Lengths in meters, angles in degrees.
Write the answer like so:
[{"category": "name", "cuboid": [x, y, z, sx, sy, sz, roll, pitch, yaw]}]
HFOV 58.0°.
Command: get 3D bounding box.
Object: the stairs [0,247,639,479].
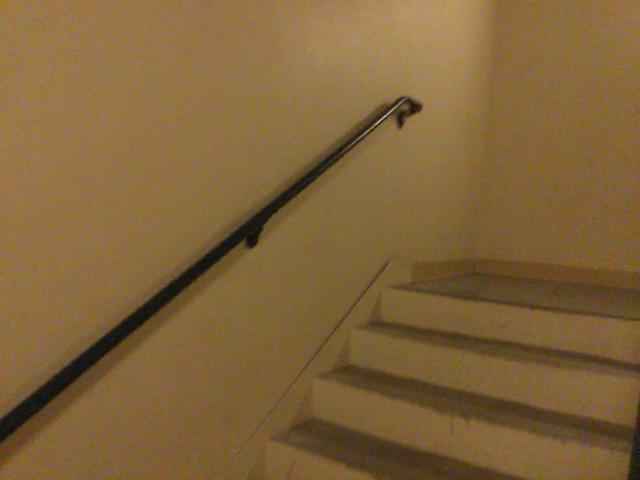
[{"category": "stairs", "cuboid": [0.360, 0.720, 1.890, 1.310, 1.150, 2.160, 2, 6, 30]}]
